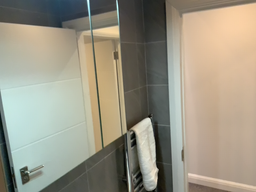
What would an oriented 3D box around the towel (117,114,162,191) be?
[{"bbox_3d":[0.090,0.400,1.360,0.150,0.490,0.320,0,11,24],"label":"towel"}]
